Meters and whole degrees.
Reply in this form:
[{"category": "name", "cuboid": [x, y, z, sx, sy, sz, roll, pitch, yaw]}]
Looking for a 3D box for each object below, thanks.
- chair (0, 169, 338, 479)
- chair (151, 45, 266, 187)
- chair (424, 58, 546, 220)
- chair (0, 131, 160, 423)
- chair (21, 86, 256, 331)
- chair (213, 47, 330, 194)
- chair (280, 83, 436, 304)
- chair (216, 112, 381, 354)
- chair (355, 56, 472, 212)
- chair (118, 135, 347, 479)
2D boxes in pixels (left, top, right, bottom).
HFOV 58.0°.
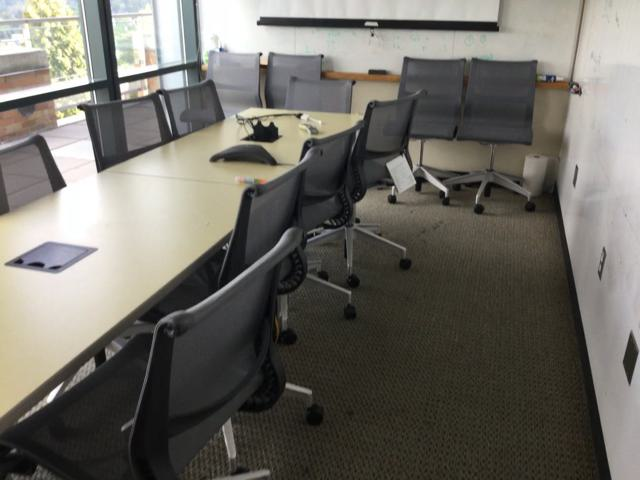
[{"category": "chair", "cuboid": [-0.410, 0.400, 1.390, 0.670, 0.910, 0.710, 10, 25, 21]}, {"category": "chair", "cuboid": [-0.820, -0.980, 4.460, 0.580, 0.930, 0.690, 7, 24, 13]}, {"category": "chair", "cuboid": [1.110, -0.710, 3.930, 0.640, 0.930, 0.570, 8, 24, 17]}, {"category": "chair", "cuboid": [-0.970, 0.100, 2.070, 0.500, 0.840, 0.510, 8, 24, 17]}, {"category": "chair", "cuboid": [-0.800, -0.210, 2.820, 0.680, 0.920, 0.780, 8, 24, 17]}, {"category": "chair", "cuboid": [-0.340, -0.920, 4.350, 0.660, 0.950, 0.590, 8, 24, 17]}, {"category": "chair", "cuboid": [0.210, -0.290, 3.020, 0.530, 0.910, 0.760, 11, 25, 22]}, {"category": "chair", "cuboid": [-0.070, -0.070, 2.550, 0.380, 0.840, 0.670, 14, 26, 28]}, {"category": "chair", "cuboid": [0.660, -0.770, 4.080, 0.650, 0.930, 0.610, 8, 24, 17]}, {"category": "chair", "cuboid": [-0.220, 0.200, 1.840, 0.430, 0.920, 0.590, 8, 24, 17]}]
